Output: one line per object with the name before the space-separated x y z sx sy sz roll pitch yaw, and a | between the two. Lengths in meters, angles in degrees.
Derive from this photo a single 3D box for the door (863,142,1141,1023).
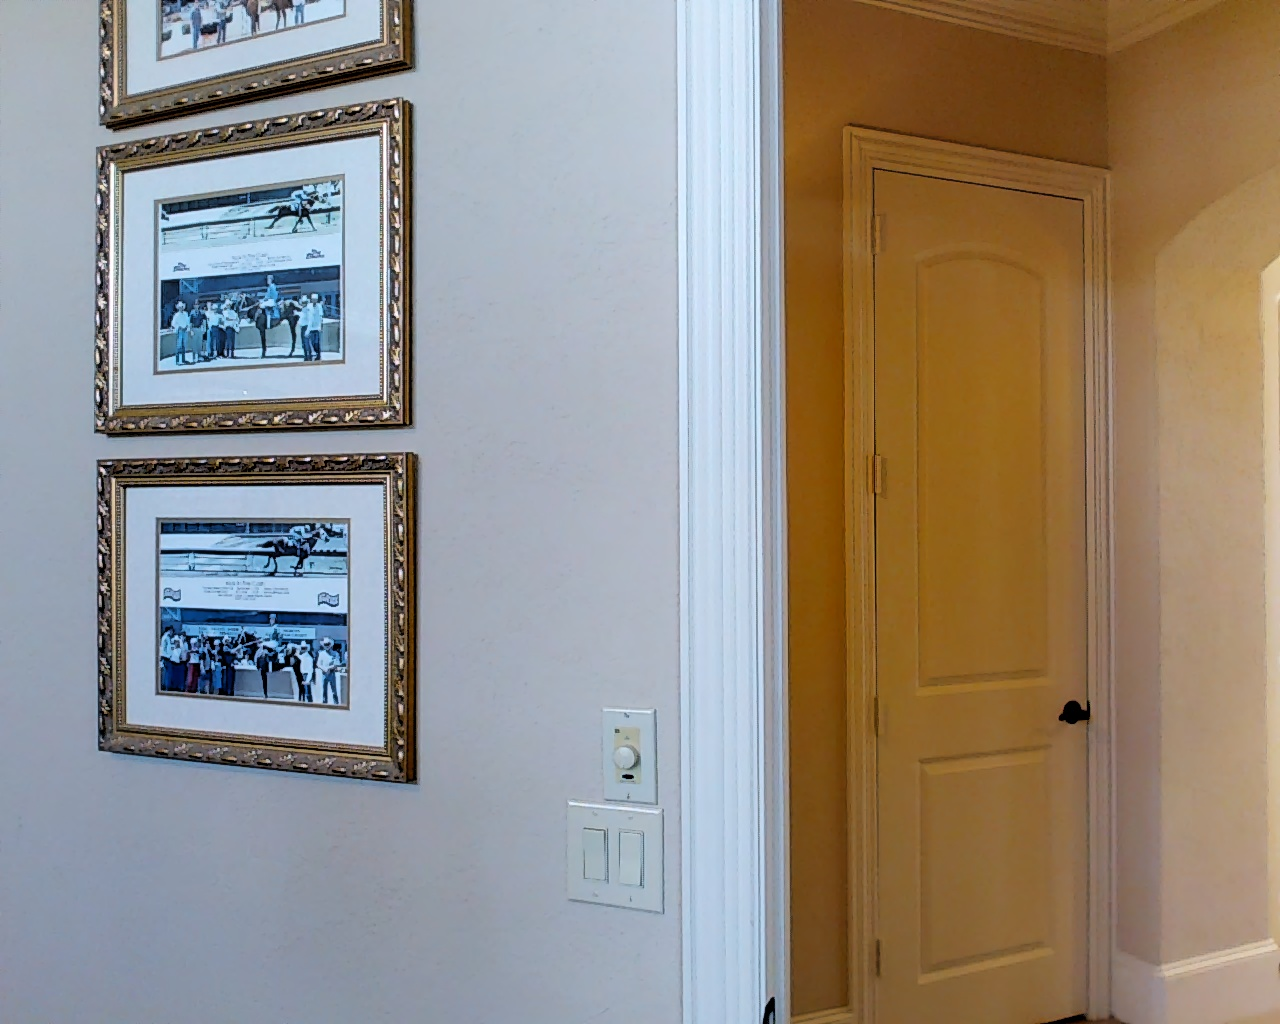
door | 1.050 0.270 3.060 0.940 2.511 0.050 0 -1 -23
